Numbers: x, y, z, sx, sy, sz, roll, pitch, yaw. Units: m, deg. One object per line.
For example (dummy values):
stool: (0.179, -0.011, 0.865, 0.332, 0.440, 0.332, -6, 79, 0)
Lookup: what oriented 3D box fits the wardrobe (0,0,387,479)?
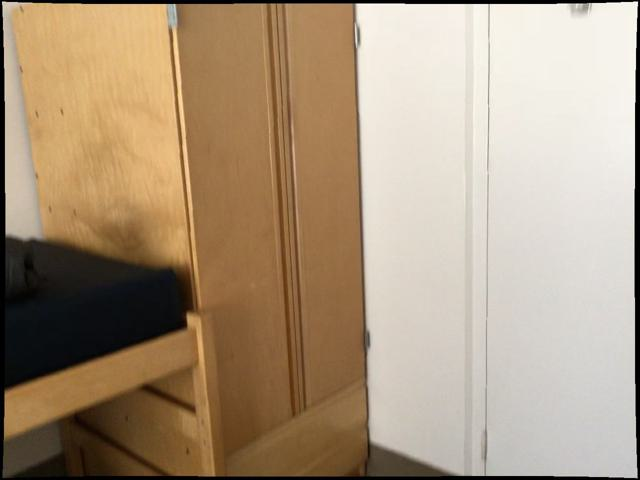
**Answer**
wardrobe: (-0.420, 0.050, 2.140, 0.999, 1.852, 0.810, 8, 16, 41)
